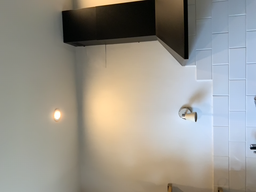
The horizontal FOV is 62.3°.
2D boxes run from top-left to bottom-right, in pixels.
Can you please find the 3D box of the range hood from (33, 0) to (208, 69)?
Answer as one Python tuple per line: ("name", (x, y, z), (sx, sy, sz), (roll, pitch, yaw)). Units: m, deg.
("range hood", (-0.030, -0.500, 1.300), (0.440, 0.930, 0.590), (-12, -79, -75))
